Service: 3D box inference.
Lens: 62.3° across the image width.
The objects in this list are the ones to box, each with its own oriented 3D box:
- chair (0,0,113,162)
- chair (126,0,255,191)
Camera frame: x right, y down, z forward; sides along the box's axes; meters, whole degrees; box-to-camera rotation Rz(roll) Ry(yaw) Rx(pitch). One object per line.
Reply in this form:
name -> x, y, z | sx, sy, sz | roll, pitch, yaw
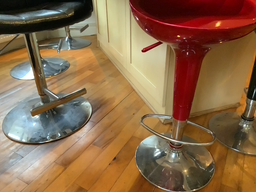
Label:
chair -> -0.550, -0.300, 1.190 | 0.550, 0.930, 0.710 | -27, 39, -37
chair -> 0.220, -0.020, 0.860 | 0.390, 0.760, 0.450 | -5, 31, -7
